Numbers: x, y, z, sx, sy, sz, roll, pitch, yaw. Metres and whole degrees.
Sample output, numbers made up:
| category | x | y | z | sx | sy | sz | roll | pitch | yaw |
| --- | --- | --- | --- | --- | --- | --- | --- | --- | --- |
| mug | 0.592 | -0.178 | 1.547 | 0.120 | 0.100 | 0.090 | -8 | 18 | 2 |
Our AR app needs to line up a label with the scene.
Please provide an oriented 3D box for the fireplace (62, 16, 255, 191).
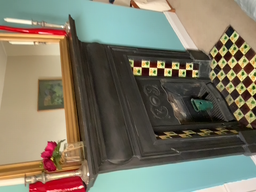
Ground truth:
| category | x | y | z | sx | sy | sz | roll | pitch | yaw |
| --- | --- | --- | --- | --- | --- | --- | --- | --- | --- |
| fireplace | 0.230 | 0.000 | 1.650 | 0.390 | 1.330 | 1.240 | 116 | 146 | -45 |
